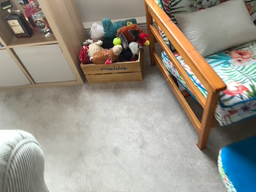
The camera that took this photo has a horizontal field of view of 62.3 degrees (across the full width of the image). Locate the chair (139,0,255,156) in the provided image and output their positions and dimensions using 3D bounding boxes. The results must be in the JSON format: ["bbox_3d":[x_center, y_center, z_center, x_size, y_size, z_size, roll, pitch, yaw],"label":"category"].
[{"bbox_3d":[0.480,-0.380,1.060,0.620,0.880,0.900,-17,51,-3],"label":"chair"}]
